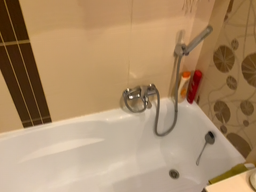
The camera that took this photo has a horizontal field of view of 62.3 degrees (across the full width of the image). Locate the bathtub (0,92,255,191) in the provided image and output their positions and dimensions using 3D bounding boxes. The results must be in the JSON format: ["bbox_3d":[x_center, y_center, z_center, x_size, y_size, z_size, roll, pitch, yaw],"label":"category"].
[{"bbox_3d":[-0.130,0.540,1.210,1.360,0.620,0.670,-11,43,-17],"label":"bathtub"}]
